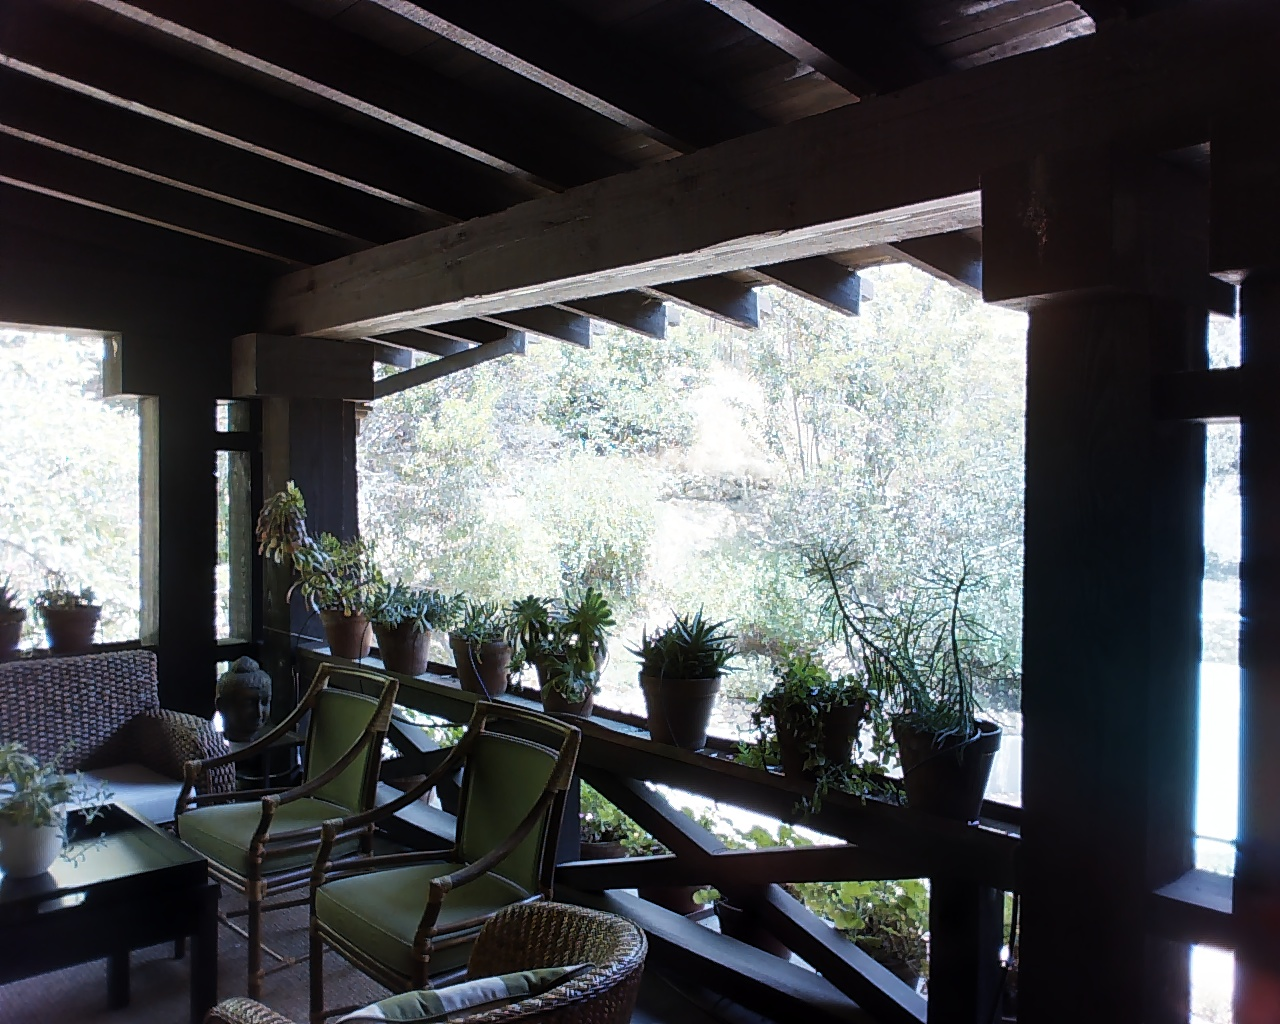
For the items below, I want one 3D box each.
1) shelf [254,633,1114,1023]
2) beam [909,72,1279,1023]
[{"bbox_3d":[-0.320,1.060,3.980,0.600,0.790,3.850,0,1,-43],"label":"shelf"},{"bbox_3d":[1.180,0.390,2.270,0.780,2.270,0.880,0,1,-43],"label":"beam"}]
